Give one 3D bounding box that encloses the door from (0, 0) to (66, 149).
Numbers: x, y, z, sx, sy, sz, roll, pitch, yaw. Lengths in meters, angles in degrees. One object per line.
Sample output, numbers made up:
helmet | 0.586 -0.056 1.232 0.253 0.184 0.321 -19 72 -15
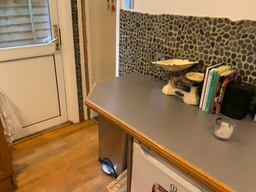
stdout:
door | -1.000 -0.570 1.920 0.720 2.220 0.050 -21 34 -40
